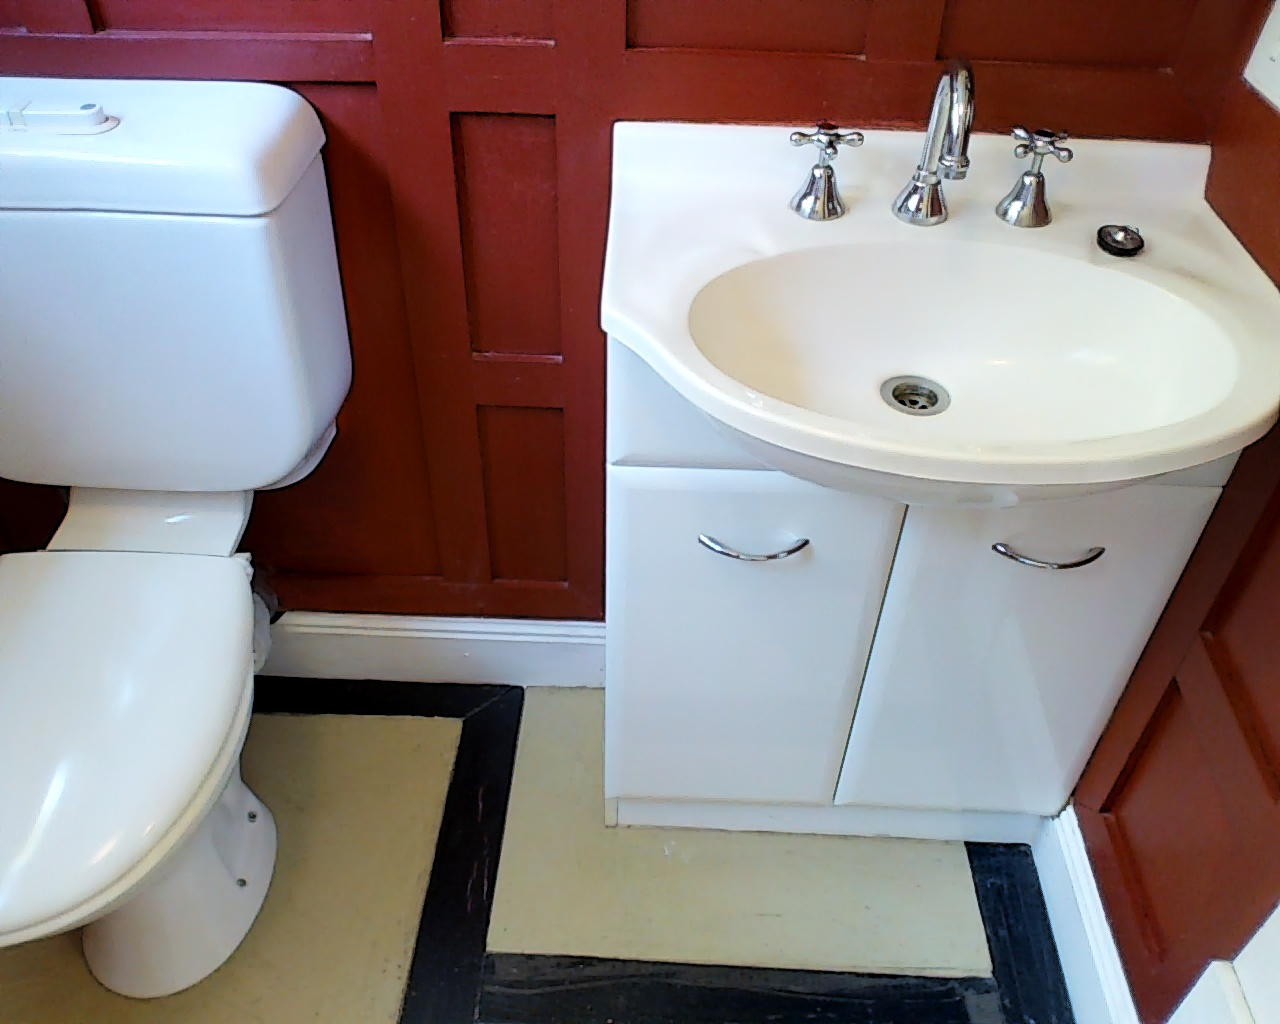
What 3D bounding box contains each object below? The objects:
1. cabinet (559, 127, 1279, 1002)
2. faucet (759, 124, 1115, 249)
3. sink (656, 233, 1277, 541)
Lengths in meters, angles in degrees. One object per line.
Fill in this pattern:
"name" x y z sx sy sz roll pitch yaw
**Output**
"cabinet" 0.240 0.110 1.190 0.590 0.890 0.440 3 42 1
"faucet" 0.280 -0.320 1.050 0.320 0.060 0.100 5 42 3
"sink" 0.260 -0.120 0.980 0.480 0.150 0.240 2 42 1
